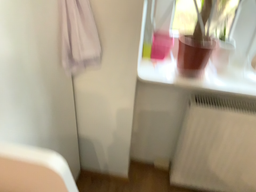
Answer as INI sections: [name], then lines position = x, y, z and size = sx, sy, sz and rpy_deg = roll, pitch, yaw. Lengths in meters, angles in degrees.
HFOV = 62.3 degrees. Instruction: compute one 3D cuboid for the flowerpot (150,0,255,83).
[flowerpot]
position = 0.340, -0.380, 0.960
size = 0.370, 0.560, 0.290
rpy_deg = 1, 34, -5
